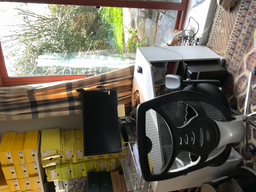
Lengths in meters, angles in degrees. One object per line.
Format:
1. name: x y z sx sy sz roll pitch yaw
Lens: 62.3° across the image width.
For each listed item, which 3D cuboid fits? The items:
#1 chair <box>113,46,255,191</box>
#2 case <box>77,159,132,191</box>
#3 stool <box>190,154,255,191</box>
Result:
1. chair: 0.490 0.130 1.410 0.640 1.020 0.690 146 120 -71
2. case: -0.290 1.120 2.350 0.450 0.500 0.640 -115 27 -52
3. stool: 0.800 0.770 1.670 0.400 0.360 0.410 -116 27 -53
